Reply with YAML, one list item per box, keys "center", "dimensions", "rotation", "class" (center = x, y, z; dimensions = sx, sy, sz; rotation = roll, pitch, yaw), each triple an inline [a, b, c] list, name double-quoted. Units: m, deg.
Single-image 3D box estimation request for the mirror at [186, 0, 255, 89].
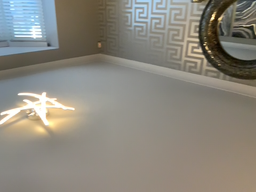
- center: [1.110, -0.620, 2.060]
  dimensions: [1.010, 1.020, 0.050]
  rotation: [20, -151, 36]
  class: "mirror"
